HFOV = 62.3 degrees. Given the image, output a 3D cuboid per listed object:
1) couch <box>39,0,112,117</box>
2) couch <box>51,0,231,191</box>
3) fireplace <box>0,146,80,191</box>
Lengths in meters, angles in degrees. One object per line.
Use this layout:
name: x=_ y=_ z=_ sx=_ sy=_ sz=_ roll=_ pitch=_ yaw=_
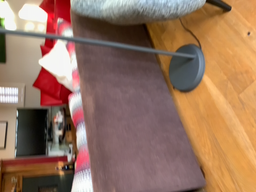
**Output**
couch: x=-1.130 y=-0.800 z=3.870 sx=2.290 sy=0.740 sz=1.270 roll=-61 pitch=37 yaw=43
couch: x=-0.100 y=0.420 z=1.710 sx=1.110 sy=0.740 sz=2.890 roll=-59 pitch=39 yaw=45
fireplace: x=-1.750 y=1.910 z=4.140 sx=0.770 sy=1.410 sz=1.520 roll=-61 pitch=37 yaw=43
